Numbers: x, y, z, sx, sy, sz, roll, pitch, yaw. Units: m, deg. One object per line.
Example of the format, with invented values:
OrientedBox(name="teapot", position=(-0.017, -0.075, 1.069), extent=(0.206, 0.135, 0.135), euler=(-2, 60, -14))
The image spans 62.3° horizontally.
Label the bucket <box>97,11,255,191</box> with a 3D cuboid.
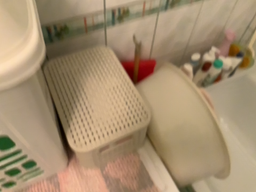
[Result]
OrientedBox(name="bucket", position=(0.120, 0.040, 0.760), extent=(0.260, 0.400, 0.490), euler=(-23, 61, -18))
